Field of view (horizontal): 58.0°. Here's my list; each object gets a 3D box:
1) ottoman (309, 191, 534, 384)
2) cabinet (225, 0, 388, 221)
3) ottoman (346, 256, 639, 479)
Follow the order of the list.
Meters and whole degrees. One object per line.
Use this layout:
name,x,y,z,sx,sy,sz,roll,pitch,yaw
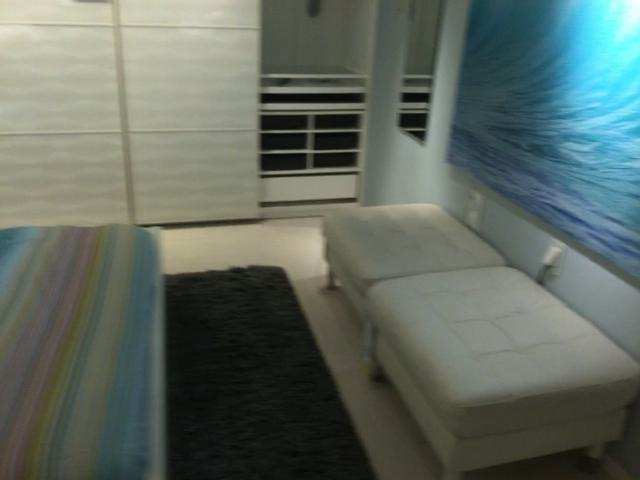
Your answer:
ottoman,0.380,0.170,2.560,0.630,0.500,0.800,2,24,-16
cabinet,-0.080,-1.310,3.490,0.710,2.350,0.660,2,32,-16
ottoman,0.560,0.480,1.840,0.660,0.510,0.870,2,24,-16
